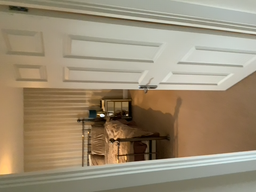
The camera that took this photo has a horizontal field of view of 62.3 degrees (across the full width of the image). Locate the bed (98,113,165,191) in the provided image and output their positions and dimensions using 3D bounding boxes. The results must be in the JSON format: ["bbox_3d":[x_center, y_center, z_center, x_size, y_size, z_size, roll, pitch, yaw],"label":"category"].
[{"bbox_3d":[-0.080,1.290,4.290,2.210,0.650,1.620,-170,81,-72],"label":"bed"}]
